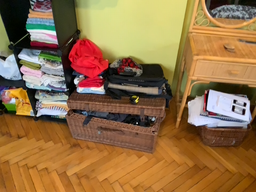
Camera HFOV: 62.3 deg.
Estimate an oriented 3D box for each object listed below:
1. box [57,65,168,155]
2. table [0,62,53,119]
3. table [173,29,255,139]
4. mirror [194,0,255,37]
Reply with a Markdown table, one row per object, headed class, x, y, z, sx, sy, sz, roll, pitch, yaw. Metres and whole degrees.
| class | x | y | z | sx | sy | sz | roll | pitch | yaw |
| --- | --- | --- | --- | --- | --- | --- | --- | --- | --- |
| box | -0.090 | 0.090 | 1.810 | 0.770 | 0.400 | 0.530 | 9 | 40 | 8 |
| table | -1.030 | -0.060 | 2.010 | 0.420 | 0.340 | 0.380 | 7 | 40 | 6 |
| table | 0.750 | -0.100 | 1.830 | 0.590 | 0.730 | 0.500 | 7 | 40 | 6 |
| mirror | 0.820 | -0.760 | 1.610 | 0.490 | 0.570 | 0.090 | 6 | 40 | 5 |
